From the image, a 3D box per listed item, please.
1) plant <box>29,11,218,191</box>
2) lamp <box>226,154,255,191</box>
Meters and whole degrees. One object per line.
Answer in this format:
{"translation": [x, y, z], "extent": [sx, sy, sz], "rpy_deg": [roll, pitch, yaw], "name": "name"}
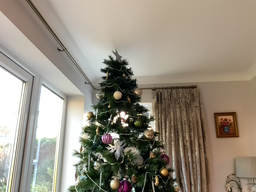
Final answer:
{"translation": [-0.090, 0.620, 1.920], "extent": [1.250, 2.270, 1.060], "rpy_deg": [3, -16, -12], "name": "plant"}
{"translation": [1.470, 1.060, 2.530], "extent": [0.380, 0.700, 0.320], "rpy_deg": [-2, -16, 4], "name": "lamp"}
